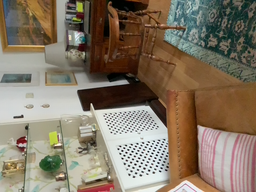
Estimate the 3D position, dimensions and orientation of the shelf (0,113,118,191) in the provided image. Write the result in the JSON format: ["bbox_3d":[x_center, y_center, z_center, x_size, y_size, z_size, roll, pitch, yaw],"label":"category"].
[{"bbox_3d":[-0.850,0.600,1.740,1.100,1.270,0.290,-126,39,-54],"label":"shelf"}]

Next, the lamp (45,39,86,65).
[{"bbox_3d":[-0.940,-0.660,3.180,0.260,0.560,0.300,-123,36,-53],"label":"lamp"}]
